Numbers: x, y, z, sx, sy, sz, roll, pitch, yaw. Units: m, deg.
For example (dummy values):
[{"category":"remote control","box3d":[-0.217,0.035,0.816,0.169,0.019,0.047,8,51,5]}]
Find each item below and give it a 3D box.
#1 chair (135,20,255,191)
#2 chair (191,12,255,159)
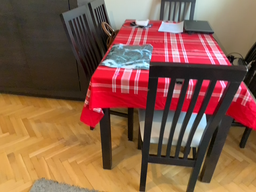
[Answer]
[{"category":"chair","box3d":[0.280,0.140,1.270,0.410,1.000,0.600,4,33,4]},{"category":"chair","box3d":[0.870,-0.060,1.630,0.570,0.990,0.440,8,33,10]}]
